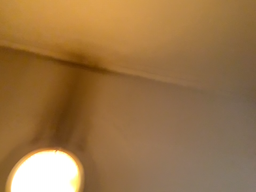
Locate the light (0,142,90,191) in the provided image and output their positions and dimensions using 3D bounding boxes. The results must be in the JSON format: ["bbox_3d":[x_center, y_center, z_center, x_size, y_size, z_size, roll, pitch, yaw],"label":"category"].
[{"bbox_3d":[-0.340,0.370,0.870,0.310,0.280,0.130,12,-41,-12],"label":"light"}]
